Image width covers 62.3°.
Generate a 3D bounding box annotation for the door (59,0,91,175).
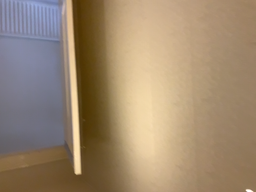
[{"bbox_3d":[-0.500,-0.560,1.820,0.130,2.090,1.090,-2,180,-18],"label":"door"}]
